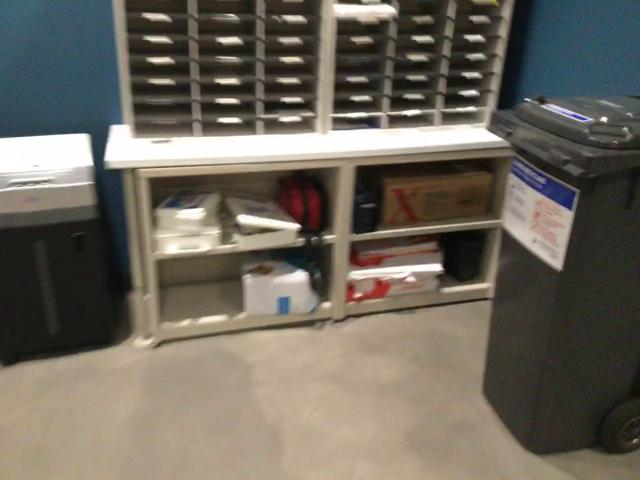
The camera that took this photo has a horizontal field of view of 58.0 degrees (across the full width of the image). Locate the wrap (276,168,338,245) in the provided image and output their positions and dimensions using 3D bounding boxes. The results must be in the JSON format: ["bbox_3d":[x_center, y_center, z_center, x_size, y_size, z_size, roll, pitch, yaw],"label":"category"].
[{"bbox_3d":[-0.060,-0.140,2.280,0.150,0.180,0.350,-6,26,-16],"label":"wrap"}]

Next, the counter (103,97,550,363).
[{"bbox_3d":[0.030,-0.100,2.370,1.620,0.820,0.470,-6,26,-16],"label":"counter"}]
